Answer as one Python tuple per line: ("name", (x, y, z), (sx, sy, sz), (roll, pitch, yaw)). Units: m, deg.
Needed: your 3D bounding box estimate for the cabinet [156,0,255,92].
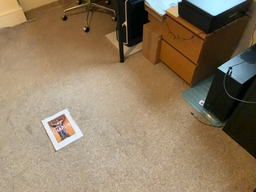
("cabinet", (0.610, -0.460, 1.790), (0.540, 0.550, 0.420), (-27, 57, -19))
